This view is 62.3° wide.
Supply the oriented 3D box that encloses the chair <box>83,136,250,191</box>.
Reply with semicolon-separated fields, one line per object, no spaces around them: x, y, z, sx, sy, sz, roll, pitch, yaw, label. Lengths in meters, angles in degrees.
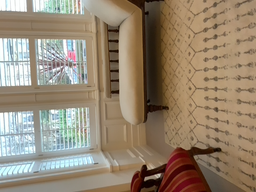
0.200;0.860;1.530;0.880;0.950;0.670;105;156;-46;chair
